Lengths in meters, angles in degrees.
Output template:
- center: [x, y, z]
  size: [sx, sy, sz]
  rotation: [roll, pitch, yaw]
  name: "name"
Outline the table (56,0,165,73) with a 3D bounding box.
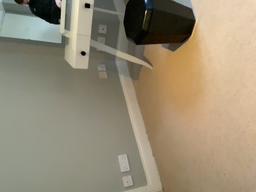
- center: [-0.190, -0.750, 1.920]
  size: [0.620, 0.750, 0.910]
  rotation: [41, 127, 54]
  name: "table"
